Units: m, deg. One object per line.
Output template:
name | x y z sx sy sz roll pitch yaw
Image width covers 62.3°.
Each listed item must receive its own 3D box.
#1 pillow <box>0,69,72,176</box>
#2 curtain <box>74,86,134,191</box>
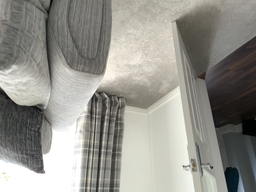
pillow | -0.560 0.150 1.040 0.450 0.410 0.340 11 151 -24
curtain | -0.230 0.990 2.030 0.520 2.230 0.260 13 149 -26
